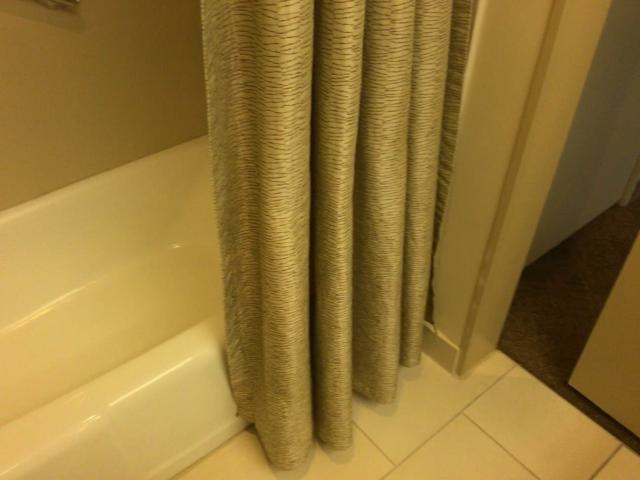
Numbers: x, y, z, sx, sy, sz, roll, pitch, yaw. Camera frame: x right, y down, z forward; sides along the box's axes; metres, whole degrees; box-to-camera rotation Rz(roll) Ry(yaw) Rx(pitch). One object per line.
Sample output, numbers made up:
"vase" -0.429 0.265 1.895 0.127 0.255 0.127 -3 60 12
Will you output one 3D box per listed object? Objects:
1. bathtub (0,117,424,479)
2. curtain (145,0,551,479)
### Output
"bathtub" -0.560 0.240 1.380 1.440 0.390 0.750 -26 45 -25
"curtain" 0.080 -0.030 1.070 0.560 1.180 0.220 -28 47 -27
